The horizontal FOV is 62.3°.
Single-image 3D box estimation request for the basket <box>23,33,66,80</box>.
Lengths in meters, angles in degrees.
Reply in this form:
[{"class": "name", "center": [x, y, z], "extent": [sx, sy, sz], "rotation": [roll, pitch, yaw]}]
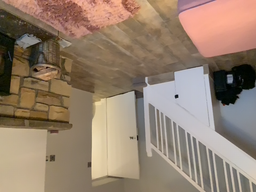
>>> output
[{"class": "basket", "center": [-0.920, -0.420, 2.360], "extent": [0.300, 0.380, 0.300], "rotation": [-8, 166, 28]}]
